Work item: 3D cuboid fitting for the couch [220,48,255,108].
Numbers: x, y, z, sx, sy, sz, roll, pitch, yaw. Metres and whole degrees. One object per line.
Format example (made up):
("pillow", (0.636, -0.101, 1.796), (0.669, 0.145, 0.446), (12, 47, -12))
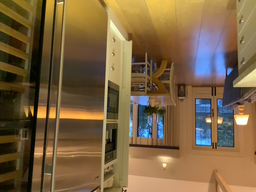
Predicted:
("couch", (2.520, -0.240, 4.240), (1.020, 0.860, 1.960), (0, 174, 16))

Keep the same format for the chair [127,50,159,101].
("chair", (0.300, -0.370, 4.030), (0.500, 0.880, 0.480), (1, 174, 13))

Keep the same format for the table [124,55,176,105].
("table", (0.660, -0.270, 5.240), (0.970, 0.790, 2.350), (1, 174, 12))

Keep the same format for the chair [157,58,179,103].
("chair", (0.830, -0.310, 4.420), (0.410, 0.880, 0.390), (1, 174, 11))
